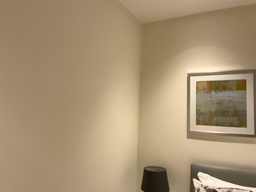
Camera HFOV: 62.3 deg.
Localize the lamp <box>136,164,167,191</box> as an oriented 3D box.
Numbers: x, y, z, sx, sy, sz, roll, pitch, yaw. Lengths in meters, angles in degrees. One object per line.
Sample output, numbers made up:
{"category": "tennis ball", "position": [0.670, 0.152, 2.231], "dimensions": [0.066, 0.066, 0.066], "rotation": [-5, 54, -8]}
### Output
{"category": "lamp", "position": [0.250, 1.020, 2.200], "dimensions": [0.230, 0.530, 0.320], "rotation": [0, -5, 24]}
